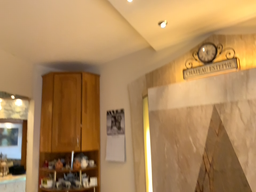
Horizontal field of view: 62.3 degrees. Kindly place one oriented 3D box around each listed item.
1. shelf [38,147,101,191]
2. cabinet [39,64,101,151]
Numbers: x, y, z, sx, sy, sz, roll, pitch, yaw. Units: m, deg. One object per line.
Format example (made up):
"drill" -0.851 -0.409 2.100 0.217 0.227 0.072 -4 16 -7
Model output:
"shelf" -0.730 0.980 2.650 0.530 0.630 0.550 -10 -13 41
"cabinet" -0.750 0.180 2.770 0.560 0.990 0.550 -10 -13 41
